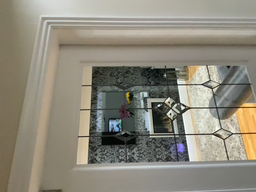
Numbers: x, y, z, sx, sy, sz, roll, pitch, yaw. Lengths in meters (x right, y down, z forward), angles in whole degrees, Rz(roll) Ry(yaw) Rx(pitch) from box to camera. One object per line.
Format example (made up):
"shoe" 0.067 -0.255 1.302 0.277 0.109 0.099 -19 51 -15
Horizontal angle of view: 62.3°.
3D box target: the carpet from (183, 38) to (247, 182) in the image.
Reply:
"carpet" 1.380 0.300 3.770 1.420 0.060 2.190 98 171 -64
